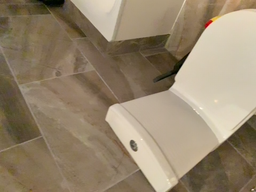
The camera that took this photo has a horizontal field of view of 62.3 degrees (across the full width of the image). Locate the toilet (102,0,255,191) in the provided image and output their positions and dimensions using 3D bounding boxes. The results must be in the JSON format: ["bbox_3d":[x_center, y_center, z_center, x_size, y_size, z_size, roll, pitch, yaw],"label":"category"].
[{"bbox_3d":[0.390,-0.050,0.910,0.400,0.790,0.610,51,139,26],"label":"toilet"}]
